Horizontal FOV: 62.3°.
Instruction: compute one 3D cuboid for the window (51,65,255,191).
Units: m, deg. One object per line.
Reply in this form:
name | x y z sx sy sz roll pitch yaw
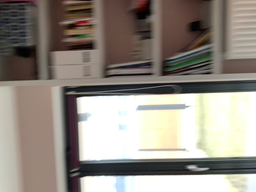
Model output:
window | 0.590 0.620 1.870 0.210 2.330 1.730 -84 -8 -81
